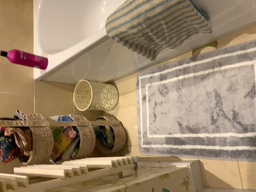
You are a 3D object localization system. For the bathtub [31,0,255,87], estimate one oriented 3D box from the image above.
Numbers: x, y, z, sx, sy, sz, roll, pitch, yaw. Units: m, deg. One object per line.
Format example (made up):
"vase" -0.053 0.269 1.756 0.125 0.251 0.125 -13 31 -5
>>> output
"bathtub" 0.130 -0.640 1.180 1.650 0.590 0.750 -16 75 40
